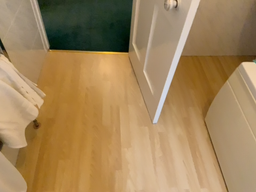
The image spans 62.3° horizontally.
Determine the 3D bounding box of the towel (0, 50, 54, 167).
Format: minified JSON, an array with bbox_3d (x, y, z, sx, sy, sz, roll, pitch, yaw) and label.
[{"bbox_3d":[-0.480,0.070,0.980,0.130,0.410,0.370,1,51,-5],"label":"towel"}]
